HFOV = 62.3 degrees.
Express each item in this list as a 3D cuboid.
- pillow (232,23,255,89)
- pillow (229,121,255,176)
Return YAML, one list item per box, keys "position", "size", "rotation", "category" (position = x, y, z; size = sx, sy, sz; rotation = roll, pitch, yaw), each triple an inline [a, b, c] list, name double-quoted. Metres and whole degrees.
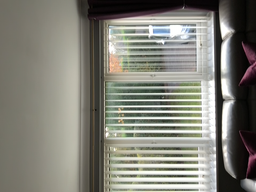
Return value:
- position: [1.120, -0.310, 1.770]
  size: [0.370, 0.320, 0.470]
  rotation: [89, -179, -88]
  category: "pillow"
- position: [1.140, 0.430, 1.820]
  size: [0.300, 0.390, 0.410]
  rotation: [88, -178, -89]
  category: "pillow"
